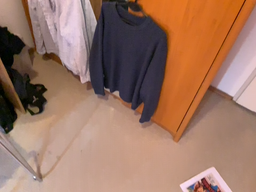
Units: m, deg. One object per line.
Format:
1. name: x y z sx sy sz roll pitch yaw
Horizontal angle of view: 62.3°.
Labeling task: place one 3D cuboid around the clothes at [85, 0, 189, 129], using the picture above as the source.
1. clothes: -0.010 -0.170 1.330 0.540 0.780 0.100 31 54 17

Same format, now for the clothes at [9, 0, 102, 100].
1. clothes: -0.510 -0.470 1.540 0.640 0.890 0.210 31 54 17
